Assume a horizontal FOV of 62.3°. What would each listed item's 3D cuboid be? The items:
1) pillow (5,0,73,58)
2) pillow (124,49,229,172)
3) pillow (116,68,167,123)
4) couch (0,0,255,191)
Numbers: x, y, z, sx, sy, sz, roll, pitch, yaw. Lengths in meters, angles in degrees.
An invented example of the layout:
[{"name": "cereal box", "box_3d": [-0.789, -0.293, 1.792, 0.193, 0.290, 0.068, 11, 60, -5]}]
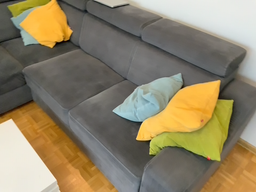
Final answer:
[{"name": "pillow", "box_3d": [-0.830, -0.670, 2.010, 0.420, 0.410, 0.150, -49, 32, 6]}, {"name": "pillow", "box_3d": [0.300, 0.080, 1.220, 0.190, 0.380, 0.560, 14, 70, 56]}, {"name": "pillow", "box_3d": [0.100, 0.000, 1.380, 0.130, 0.380, 0.310, -3, 87, 39]}, {"name": "couch", "box_3d": [-0.320, -0.310, 1.850, 1.090, 0.850, 2.500, -30, 51, -34]}]
